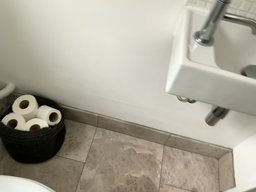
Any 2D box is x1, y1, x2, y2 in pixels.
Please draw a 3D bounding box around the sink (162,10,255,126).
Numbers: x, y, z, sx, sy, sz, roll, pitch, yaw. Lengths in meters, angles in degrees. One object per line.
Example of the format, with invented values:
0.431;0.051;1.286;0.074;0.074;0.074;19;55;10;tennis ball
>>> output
0.320;-0.060;0.570;0.410;0.120;0.230;16;54;0;sink
